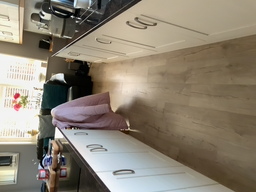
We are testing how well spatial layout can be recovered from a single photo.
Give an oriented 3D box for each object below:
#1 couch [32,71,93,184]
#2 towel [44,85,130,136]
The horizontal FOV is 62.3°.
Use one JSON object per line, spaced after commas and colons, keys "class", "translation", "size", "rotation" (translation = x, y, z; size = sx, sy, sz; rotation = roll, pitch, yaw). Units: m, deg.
{"class": "couch", "translation": [-1.410, 0.560, 4.410], "size": [1.080, 0.840, 2.010], "rotation": [9, 93, 62]}
{"class": "towel", "translation": [-0.580, 0.170, 2.810], "size": [0.870, 0.850, 0.530], "rotation": [6, 90, 62]}
